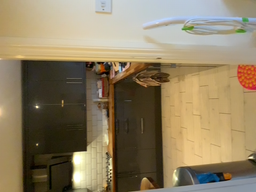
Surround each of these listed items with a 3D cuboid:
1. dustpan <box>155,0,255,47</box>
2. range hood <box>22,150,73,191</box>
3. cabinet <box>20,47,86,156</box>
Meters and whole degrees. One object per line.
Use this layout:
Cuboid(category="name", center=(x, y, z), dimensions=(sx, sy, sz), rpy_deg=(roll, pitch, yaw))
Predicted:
Cuboid(category="dustpan", center=(0.660, -0.380, 1.170), dimensions=(0.150, 1.020, 0.180), rpy_deg=(-169, 79, -77))
Cuboid(category="range hood", center=(-1.370, 1.330, 3.670), dimensions=(0.300, 0.780, 0.680), rpy_deg=(172, 98, -77))
Cuboid(category="cabinet", center=(-1.260, 0.080, 3.680), dimensions=(0.330, 1.030, 1.760), rpy_deg=(171, 98, -78))
